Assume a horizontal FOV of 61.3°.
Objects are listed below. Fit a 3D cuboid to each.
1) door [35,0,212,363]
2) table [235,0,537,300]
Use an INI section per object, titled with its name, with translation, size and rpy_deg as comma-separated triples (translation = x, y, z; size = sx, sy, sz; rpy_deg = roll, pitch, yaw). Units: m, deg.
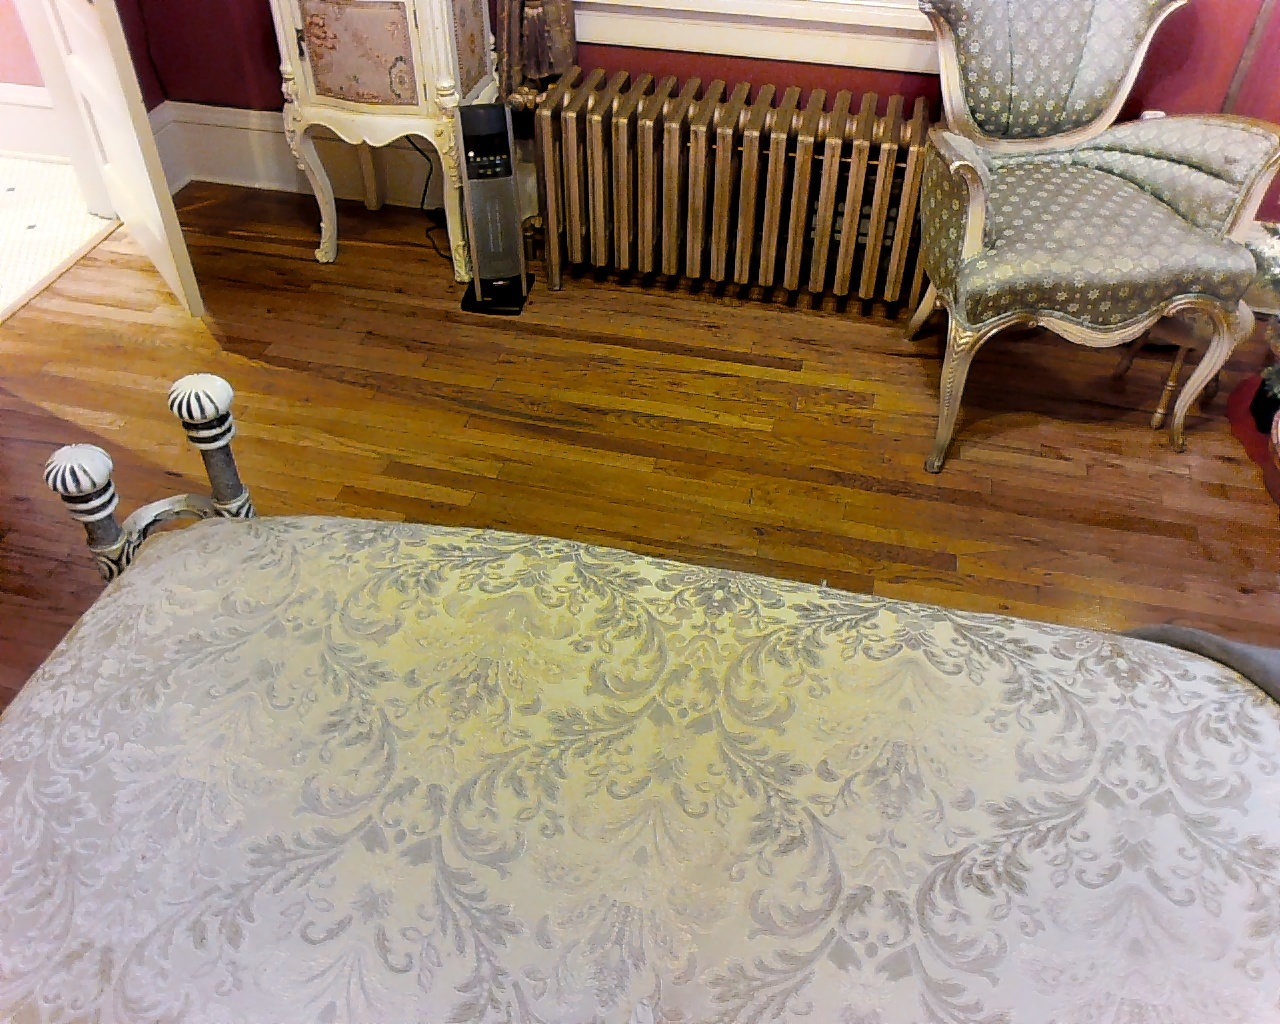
[door]
translation = -1.300, -1.390, 2.240
size = 0.090, 2.110, 0.750
rpy_deg = -21, 46, -22
[table]
translation = -0.630, -1.100, 2.830
size = 0.560, 0.910, 0.440
rpy_deg = 9, 43, 10
